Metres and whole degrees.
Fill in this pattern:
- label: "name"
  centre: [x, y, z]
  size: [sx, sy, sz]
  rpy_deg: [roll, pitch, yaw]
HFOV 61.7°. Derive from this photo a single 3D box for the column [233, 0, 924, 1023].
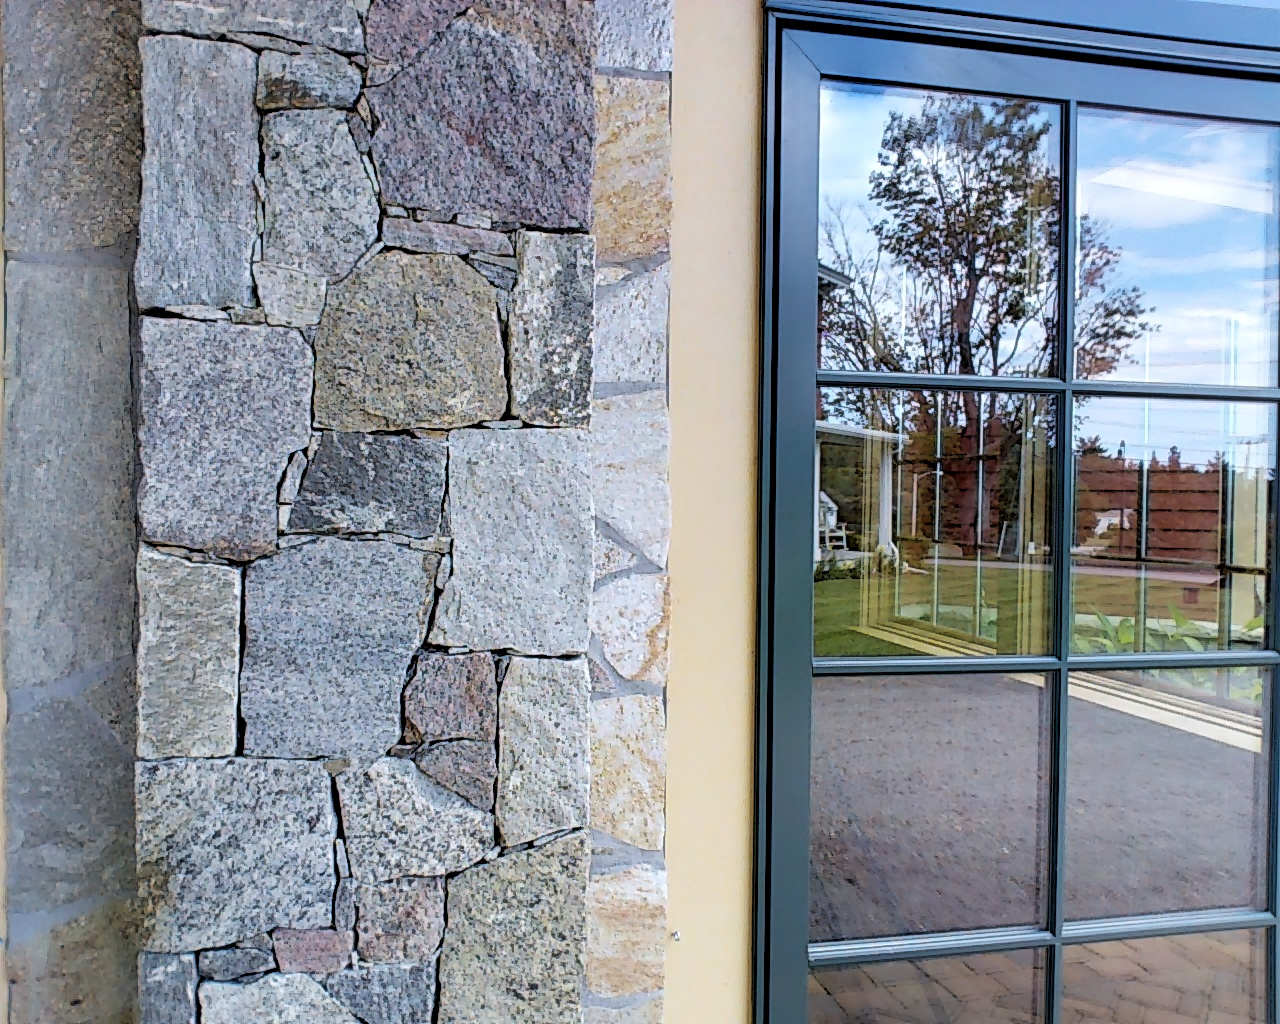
- label: "column"
  centre: [-0.060, 0.100, 1.250]
  size: [0.760, 2.900, 0.150]
  rpy_deg: [0, 1, -13]
